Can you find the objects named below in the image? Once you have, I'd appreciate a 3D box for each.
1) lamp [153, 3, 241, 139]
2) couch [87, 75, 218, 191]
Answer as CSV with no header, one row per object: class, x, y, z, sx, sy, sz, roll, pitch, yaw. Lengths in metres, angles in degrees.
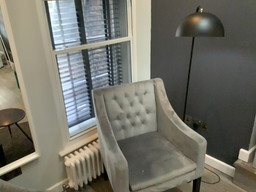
lamp,0.500,-0.220,1.620,0.530,0.880,0.350,-22,31,-39
couch,0.130,0.410,1.680,0.690,0.900,0.680,-10,25,-17
